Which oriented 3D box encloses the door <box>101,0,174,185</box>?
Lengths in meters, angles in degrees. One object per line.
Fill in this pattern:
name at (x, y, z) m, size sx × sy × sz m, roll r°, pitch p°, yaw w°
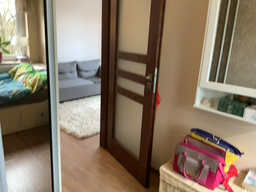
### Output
door at (0.020, -0.260, 2.180) m, size 0.120 × 2.080 × 0.920 m, roll -7°, pitch 19°, yaw -33°
